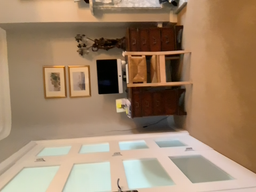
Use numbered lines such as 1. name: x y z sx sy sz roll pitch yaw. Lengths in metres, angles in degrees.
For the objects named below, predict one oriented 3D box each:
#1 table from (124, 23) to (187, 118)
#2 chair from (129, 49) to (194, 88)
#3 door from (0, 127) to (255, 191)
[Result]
1. table: 0.370 -0.350 3.140 0.610 0.740 1.250 -173 81 -84
2. chair: 0.410 -0.350 2.780 0.420 0.740 0.400 144 123 -83
3. door: -0.010 0.660 1.240 3.370 2.090 0.200 -159 66 -84
